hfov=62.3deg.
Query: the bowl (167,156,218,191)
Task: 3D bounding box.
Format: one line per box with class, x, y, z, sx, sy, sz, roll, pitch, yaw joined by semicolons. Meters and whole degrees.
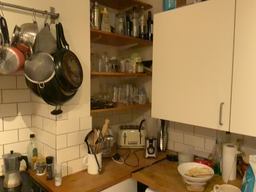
bowl;0.430;0.510;1.410;0.240;0.100;0.230;-4;7;-44
